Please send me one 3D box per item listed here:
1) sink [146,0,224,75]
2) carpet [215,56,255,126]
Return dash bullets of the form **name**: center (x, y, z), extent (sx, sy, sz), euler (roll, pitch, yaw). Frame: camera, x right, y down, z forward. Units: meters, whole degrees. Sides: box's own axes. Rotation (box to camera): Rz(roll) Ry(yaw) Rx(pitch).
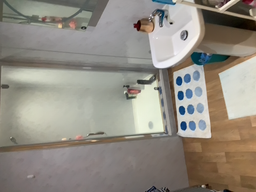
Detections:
- **sink**: center (0.350, -0.430, 1.480), extent (0.560, 0.150, 0.390), euler (149, 118, -61)
- **carpet**: center (1.060, -0.070, 1.670), extent (0.810, 0.030, 0.500), euler (147, 120, -61)
